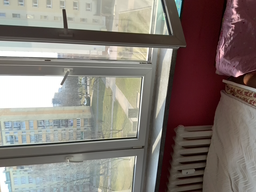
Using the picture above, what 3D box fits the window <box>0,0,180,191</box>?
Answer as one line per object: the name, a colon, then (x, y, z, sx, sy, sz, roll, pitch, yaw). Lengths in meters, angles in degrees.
window: (-0.490, 0.210, 1.690, 0.130, 1.620, 2.320, -129, 41, -67)
